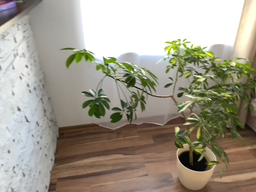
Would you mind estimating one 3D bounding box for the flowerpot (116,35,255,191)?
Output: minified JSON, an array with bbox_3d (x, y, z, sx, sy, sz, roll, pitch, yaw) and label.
[{"bbox_3d":[0.350,0.150,1.300,0.700,0.820,0.630,-8,32,-11],"label":"flowerpot"}]
